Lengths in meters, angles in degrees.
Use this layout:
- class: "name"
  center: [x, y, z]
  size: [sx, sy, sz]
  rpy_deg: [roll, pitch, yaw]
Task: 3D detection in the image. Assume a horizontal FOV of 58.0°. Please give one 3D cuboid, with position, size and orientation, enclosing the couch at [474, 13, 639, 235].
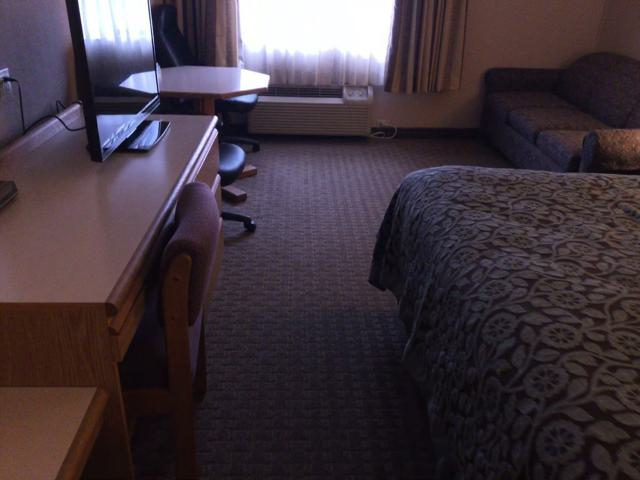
- class: "couch"
  center: [1.760, -0.890, 3.720]
  size: [0.860, 0.870, 2.050]
  rpy_deg: [-1, 27, -3]

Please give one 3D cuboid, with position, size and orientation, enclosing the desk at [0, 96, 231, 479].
- class: "desk"
  center: [-0.710, 0.120, 1.900]
  size: [0.640, 0.810, 1.600]
  rpy_deg: [-1, 27, -3]
